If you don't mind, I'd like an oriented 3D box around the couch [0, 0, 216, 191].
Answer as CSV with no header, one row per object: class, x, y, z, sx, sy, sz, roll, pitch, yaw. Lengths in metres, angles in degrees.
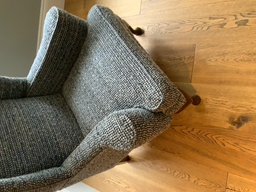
couch,-0.330,0.010,1.080,0.880,1.060,0.830,-45,63,27
